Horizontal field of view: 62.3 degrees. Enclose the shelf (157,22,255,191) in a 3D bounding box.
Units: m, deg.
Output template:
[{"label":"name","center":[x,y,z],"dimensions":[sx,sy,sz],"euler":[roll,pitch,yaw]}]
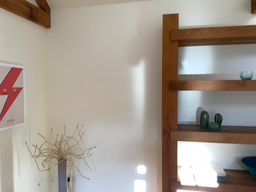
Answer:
[{"label":"shelf","center":[1.360,0.450,2.180],"dimensions":[2.090,2.250,0.520],"euler":[0,3,10]}]
